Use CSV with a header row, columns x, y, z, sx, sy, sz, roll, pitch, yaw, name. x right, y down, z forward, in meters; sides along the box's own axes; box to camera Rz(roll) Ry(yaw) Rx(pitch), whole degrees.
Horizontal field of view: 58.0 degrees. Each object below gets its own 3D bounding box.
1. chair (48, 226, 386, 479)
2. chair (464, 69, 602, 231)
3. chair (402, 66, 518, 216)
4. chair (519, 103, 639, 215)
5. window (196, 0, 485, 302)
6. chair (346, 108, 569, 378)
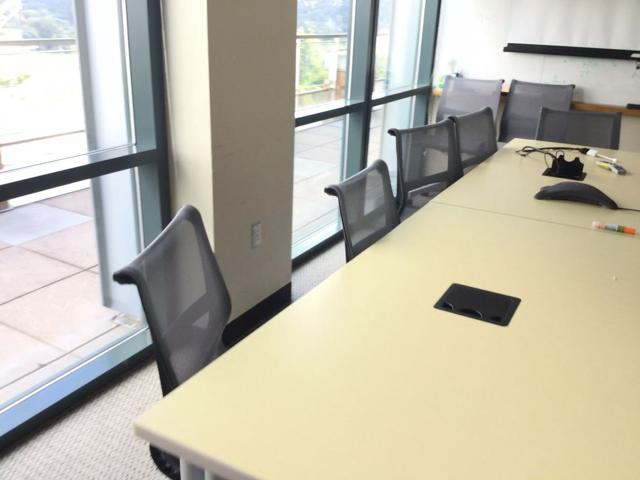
x,y,z,sx,sy,sz,roll,pitch,yaw,name
-0.210,0.440,1.470,0.650,0.800,0.410,7,22,15,chair
1.470,-0.660,4.030,0.660,0.950,0.590,14,25,31,chair
1.030,-0.760,4.260,0.580,0.930,0.690,12,24,26,chair
1.440,-0.470,3.200,0.480,0.480,0.470,14,25,31,chair
0.300,-1.270,3.440,0.590,2.530,2.270,14,25,31,window
0.620,-0.060,2.640,0.680,0.920,0.780,14,25,31,chair
